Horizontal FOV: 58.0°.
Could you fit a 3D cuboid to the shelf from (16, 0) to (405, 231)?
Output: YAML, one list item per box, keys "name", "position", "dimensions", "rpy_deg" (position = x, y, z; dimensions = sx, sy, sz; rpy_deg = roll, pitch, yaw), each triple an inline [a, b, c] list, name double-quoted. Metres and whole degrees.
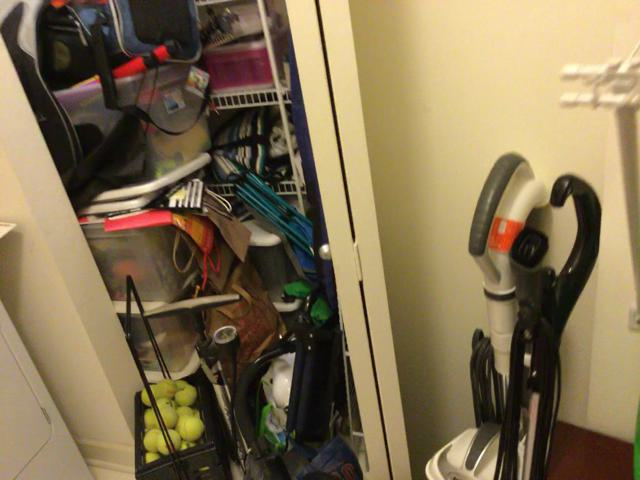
- name: "shelf"
  position: [-0.350, -0.650, 2.030]
  dimensions: [1.120, 1.150, 0.470]
  rpy_deg: [0, 30, 20]

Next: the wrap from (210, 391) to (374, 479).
- name: "wrap"
  position: [-0.050, 0.680, 1.480]
  dimensions: [0.290, 0.420, 0.350]
  rpy_deg: [0, 30, 20]
